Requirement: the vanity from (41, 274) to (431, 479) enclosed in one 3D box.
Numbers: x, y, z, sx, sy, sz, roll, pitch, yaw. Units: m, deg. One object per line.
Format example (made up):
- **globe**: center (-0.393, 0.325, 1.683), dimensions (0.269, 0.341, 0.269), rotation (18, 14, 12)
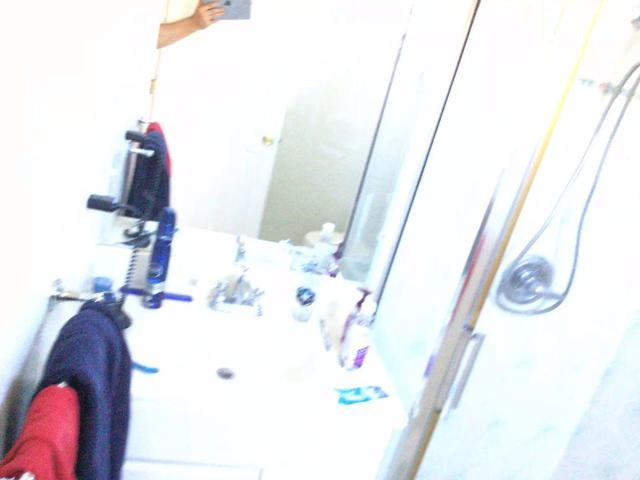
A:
- **vanity**: center (-0.260, 0.590, 1.520), dimensions (0.800, 0.760, 0.390), rotation (13, 17, -13)
